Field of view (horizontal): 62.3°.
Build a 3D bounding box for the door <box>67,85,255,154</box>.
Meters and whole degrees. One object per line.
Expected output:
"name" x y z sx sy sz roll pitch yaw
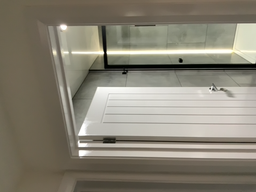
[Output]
"door" 0.660 0.110 1.500 0.800 1.960 0.070 -85 -5 -64
